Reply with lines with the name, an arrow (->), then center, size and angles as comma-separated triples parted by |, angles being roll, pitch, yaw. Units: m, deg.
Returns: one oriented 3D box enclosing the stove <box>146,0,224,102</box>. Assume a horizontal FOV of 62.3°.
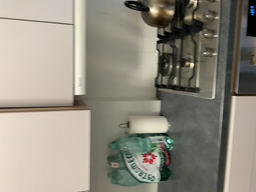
stove -> 0.240, -0.330, 1.060 | 0.590, 0.050, 0.640 | -158, 69, -71
